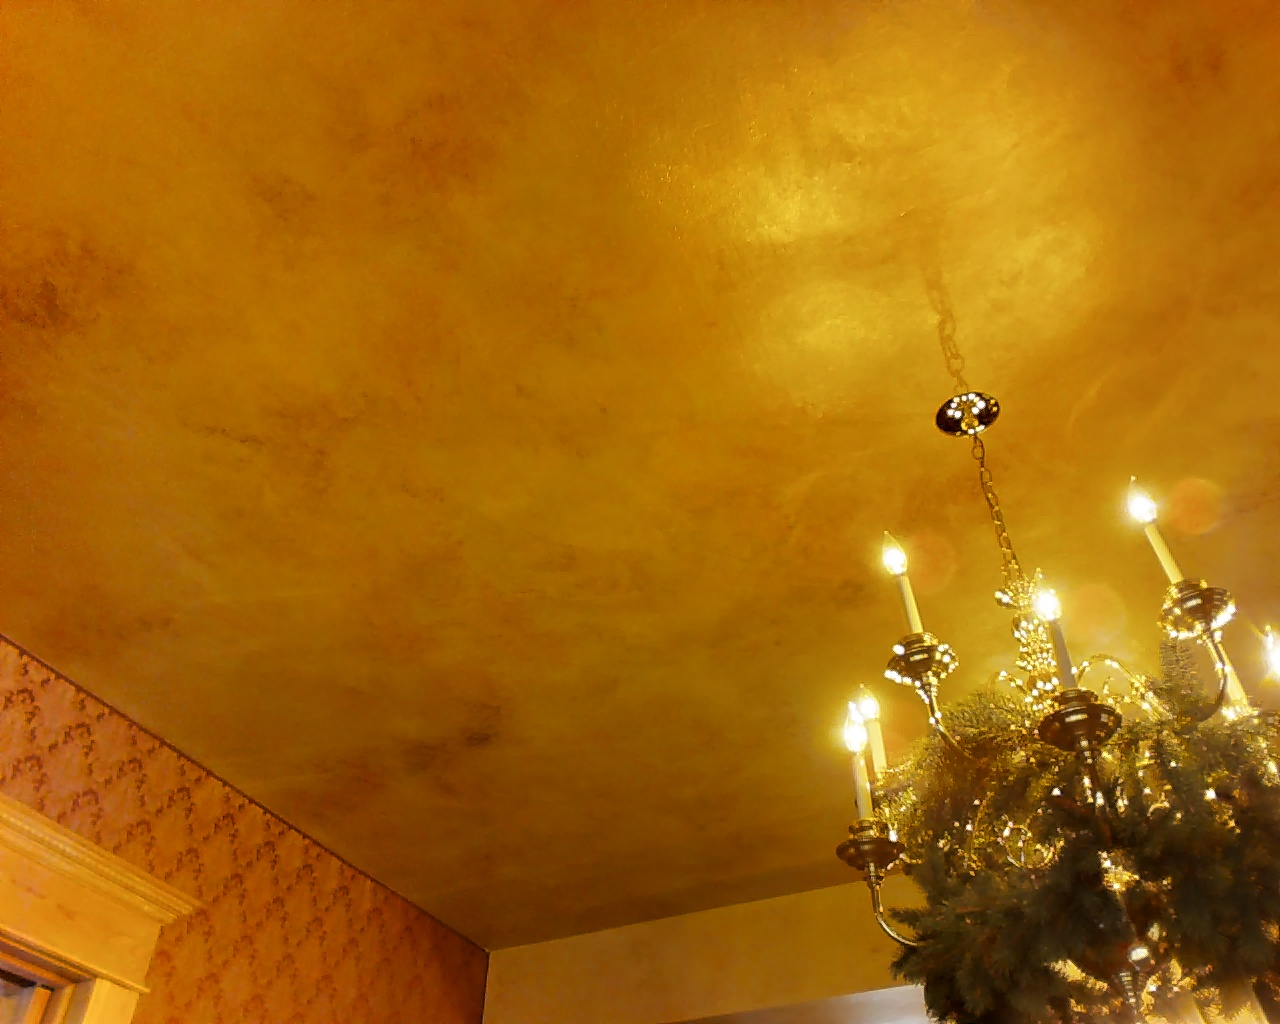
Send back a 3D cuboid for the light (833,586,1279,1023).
[{"bbox_3d":[0.670,0.520,1.540,0.570,0.430,0.610,-17,-45,19],"label":"light"}]
